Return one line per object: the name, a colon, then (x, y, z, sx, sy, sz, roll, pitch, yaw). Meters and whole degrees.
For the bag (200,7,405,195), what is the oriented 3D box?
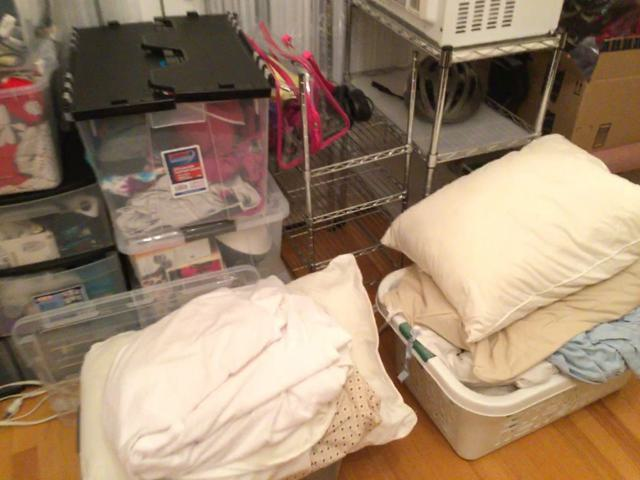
bag: (-0.060, -0.390, 1.510, 0.350, 0.280, 0.490, -16, 36, -18)
